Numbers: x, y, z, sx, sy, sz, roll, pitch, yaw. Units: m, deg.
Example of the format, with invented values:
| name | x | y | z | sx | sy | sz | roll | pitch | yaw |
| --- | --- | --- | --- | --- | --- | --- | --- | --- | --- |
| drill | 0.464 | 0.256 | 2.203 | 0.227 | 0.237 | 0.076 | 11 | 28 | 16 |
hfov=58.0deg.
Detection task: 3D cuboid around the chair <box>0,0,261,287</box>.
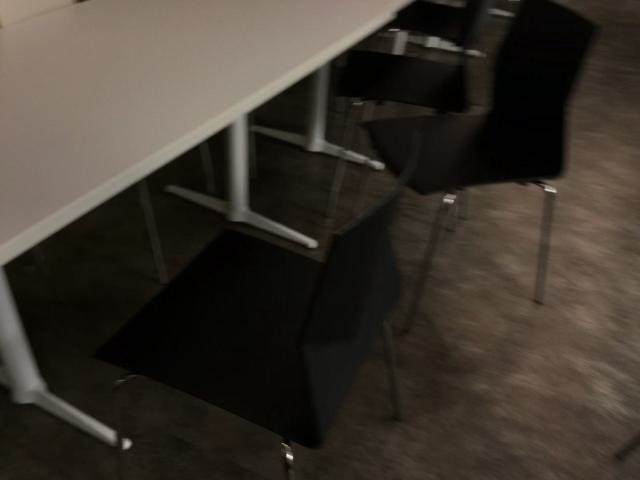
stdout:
| name | x | y | z | sx | sy | sz | roll | pitch | yaw |
| --- | --- | --- | --- | --- | --- | --- | --- | --- | --- |
| chair | -0.600 | -0.430 | 1.760 | 0.590 | 0.830 | 0.560 | 21 | 42 | 22 |
